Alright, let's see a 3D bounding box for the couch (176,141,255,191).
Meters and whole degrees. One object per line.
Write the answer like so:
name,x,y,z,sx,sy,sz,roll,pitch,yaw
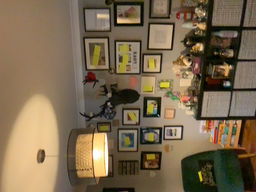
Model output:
couch,1.180,1.030,2.920,0.760,0.790,0.660,95,174,-67
